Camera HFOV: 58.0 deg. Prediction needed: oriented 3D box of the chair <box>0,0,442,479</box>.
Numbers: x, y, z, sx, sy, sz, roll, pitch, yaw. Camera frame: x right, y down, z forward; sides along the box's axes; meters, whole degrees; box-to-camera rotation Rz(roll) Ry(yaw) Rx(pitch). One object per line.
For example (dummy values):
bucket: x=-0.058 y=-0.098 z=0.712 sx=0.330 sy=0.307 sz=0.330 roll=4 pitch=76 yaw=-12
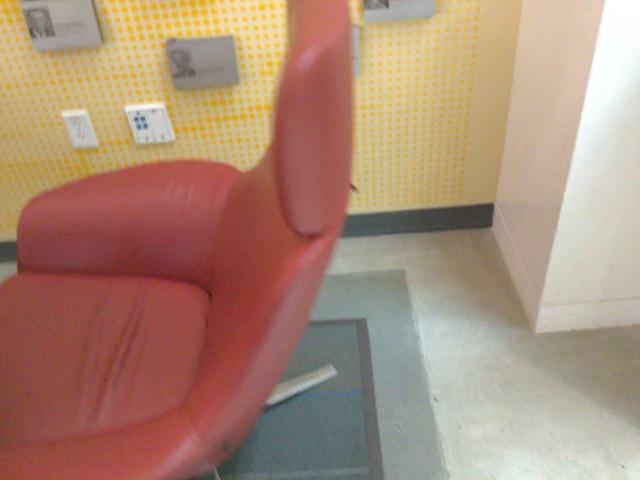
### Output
chair: x=-0.360 y=0.100 z=1.100 sx=0.900 sy=1.040 sz=0.890 roll=-8 pitch=38 yaw=-2
